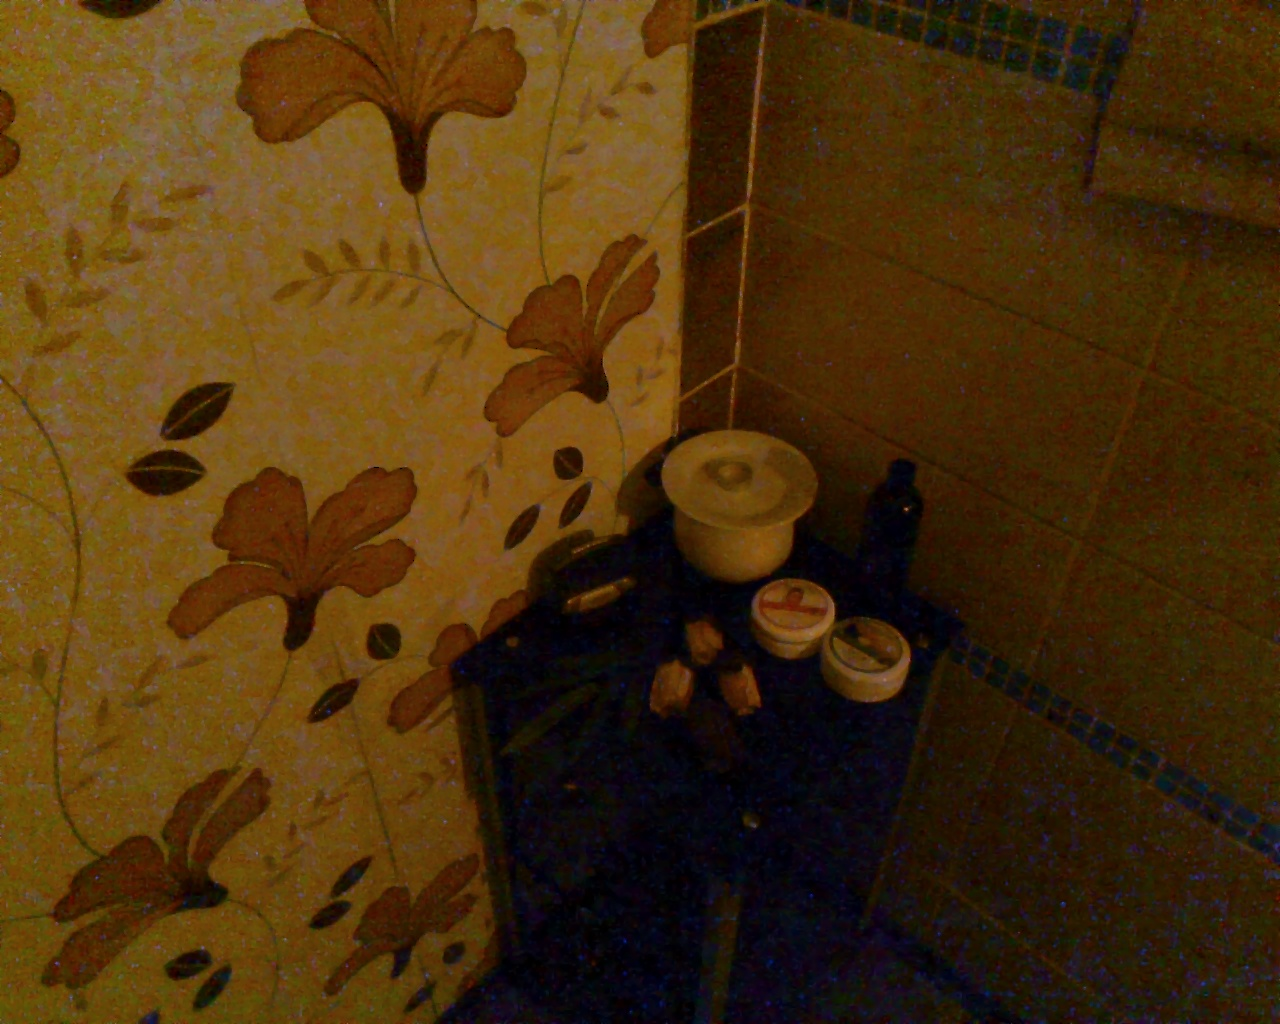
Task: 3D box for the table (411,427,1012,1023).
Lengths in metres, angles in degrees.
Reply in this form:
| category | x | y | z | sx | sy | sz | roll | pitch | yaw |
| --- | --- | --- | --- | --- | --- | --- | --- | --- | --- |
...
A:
| category | x | y | z | sx | sy | sz | roll | pitch | yaw |
| --- | --- | --- | --- | --- | --- | --- | --- | --- | --- |
| table | 0.080 | 0.400 | 1.410 | 0.400 | 0.790 | 0.510 | 34 | 52 | 30 |
